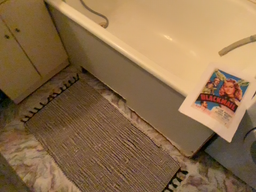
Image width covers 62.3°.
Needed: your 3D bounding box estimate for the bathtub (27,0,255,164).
[{"bbox_3d":[0.090,-0.370,1.330,1.390,0.600,0.660,38,67,20],"label":"bathtub"}]
